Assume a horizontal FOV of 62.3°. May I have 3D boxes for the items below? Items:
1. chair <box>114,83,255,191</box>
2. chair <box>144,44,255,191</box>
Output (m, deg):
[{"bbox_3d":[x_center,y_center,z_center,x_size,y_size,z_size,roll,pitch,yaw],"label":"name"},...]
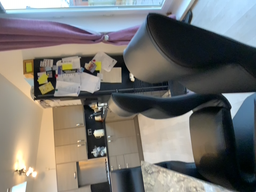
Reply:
[{"bbox_3d":[0.460,0.290,1.280,0.440,0.990,0.580,120,144,-72],"label":"chair"},{"bbox_3d":[0.580,0.130,0.730,0.400,0.930,0.540,171,94,-79],"label":"chair"}]
